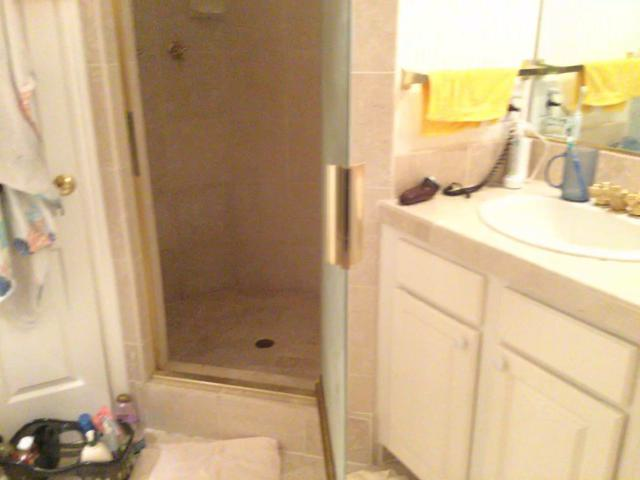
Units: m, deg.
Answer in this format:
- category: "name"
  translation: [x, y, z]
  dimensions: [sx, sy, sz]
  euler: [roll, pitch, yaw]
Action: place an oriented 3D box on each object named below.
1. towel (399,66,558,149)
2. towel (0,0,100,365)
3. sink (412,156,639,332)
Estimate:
- category: "towel"
  translation: [0.450, -0.380, 1.620]
  dimensions: [0.480, 0.200, 0.100]
  euler: [-9, 22, -29]
- category: "towel"
  translation: [-0.900, -0.260, 1.570]
  dimensions: [0.420, 1.220, 0.210]
  euler: [-9, 22, -29]
- category: "sink"
  translation: [0.610, -0.040, 1.440]
  dimensions: [0.460, 0.200, 0.610]
  euler: [-9, 22, -29]
